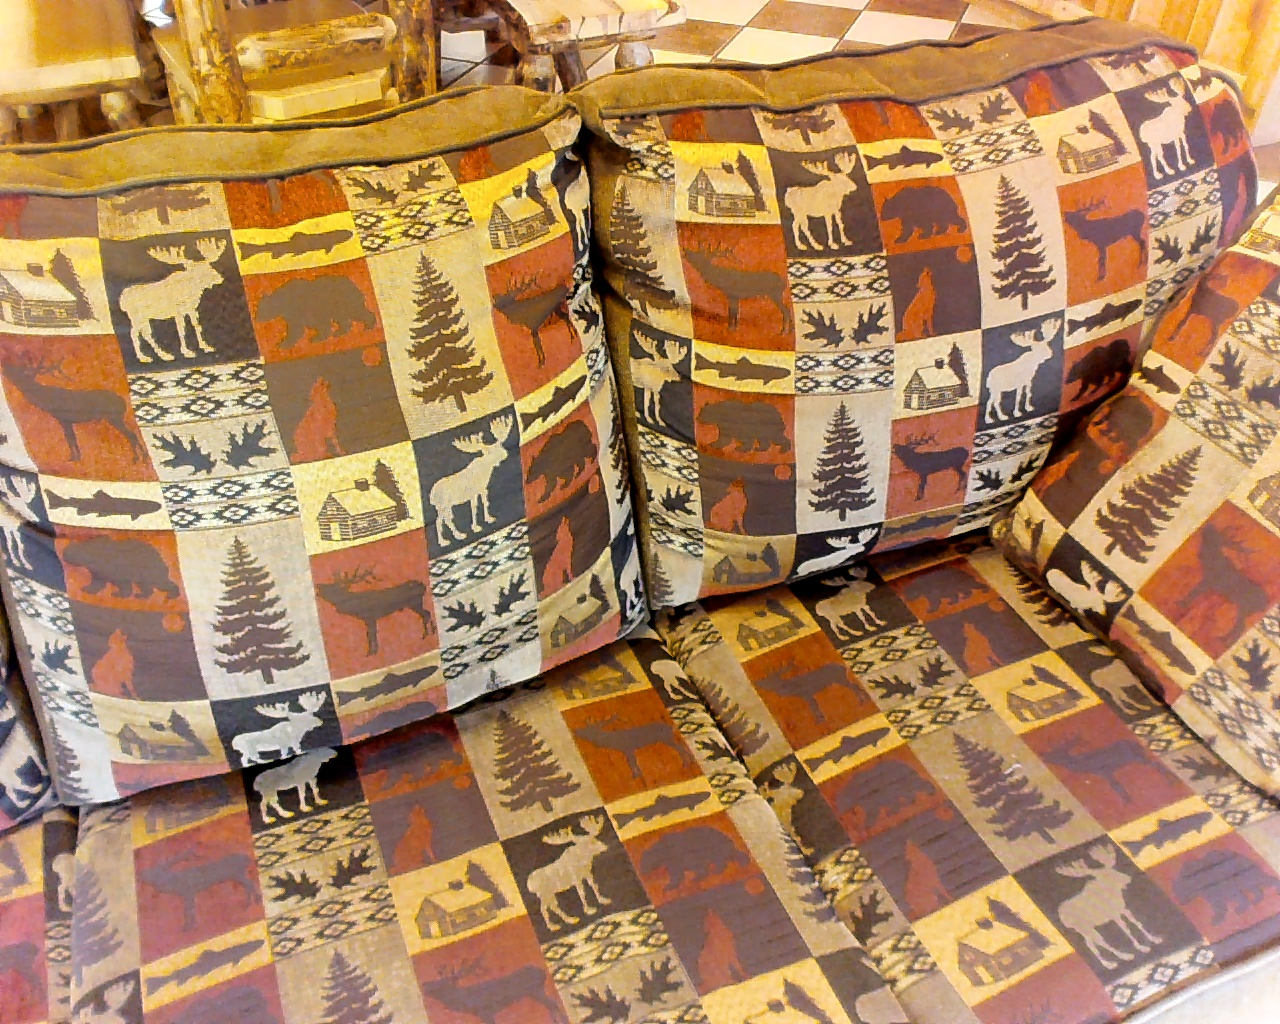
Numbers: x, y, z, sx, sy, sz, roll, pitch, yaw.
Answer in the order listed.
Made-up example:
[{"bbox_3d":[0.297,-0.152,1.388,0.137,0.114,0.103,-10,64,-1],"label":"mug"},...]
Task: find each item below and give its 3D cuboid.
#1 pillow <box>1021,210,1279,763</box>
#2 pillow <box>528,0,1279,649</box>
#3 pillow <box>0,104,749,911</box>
[{"bbox_3d":[0.570,-0.020,0.900,0.150,0.450,0.470,-17,15,-20],"label":"pillow"},{"bbox_3d":[0.310,-0.250,1.110,0.680,0.550,0.320,-16,9,-19],"label":"pillow"},{"bbox_3d":[-0.260,-0.040,0.960,0.570,0.500,0.310,-15,17,-16],"label":"pillow"}]
